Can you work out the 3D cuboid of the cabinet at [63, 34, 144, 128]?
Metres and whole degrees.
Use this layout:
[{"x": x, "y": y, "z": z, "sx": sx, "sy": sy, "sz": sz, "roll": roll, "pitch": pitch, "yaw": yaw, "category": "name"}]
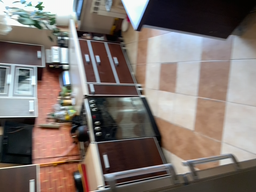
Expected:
[{"x": -0.460, "y": -0.230, "z": 3.290, "sx": 0.800, "sy": 0.860, "sz": 1.130, "roll": 119, "pitch": 142, "yaw": -45, "category": "cabinet"}]
